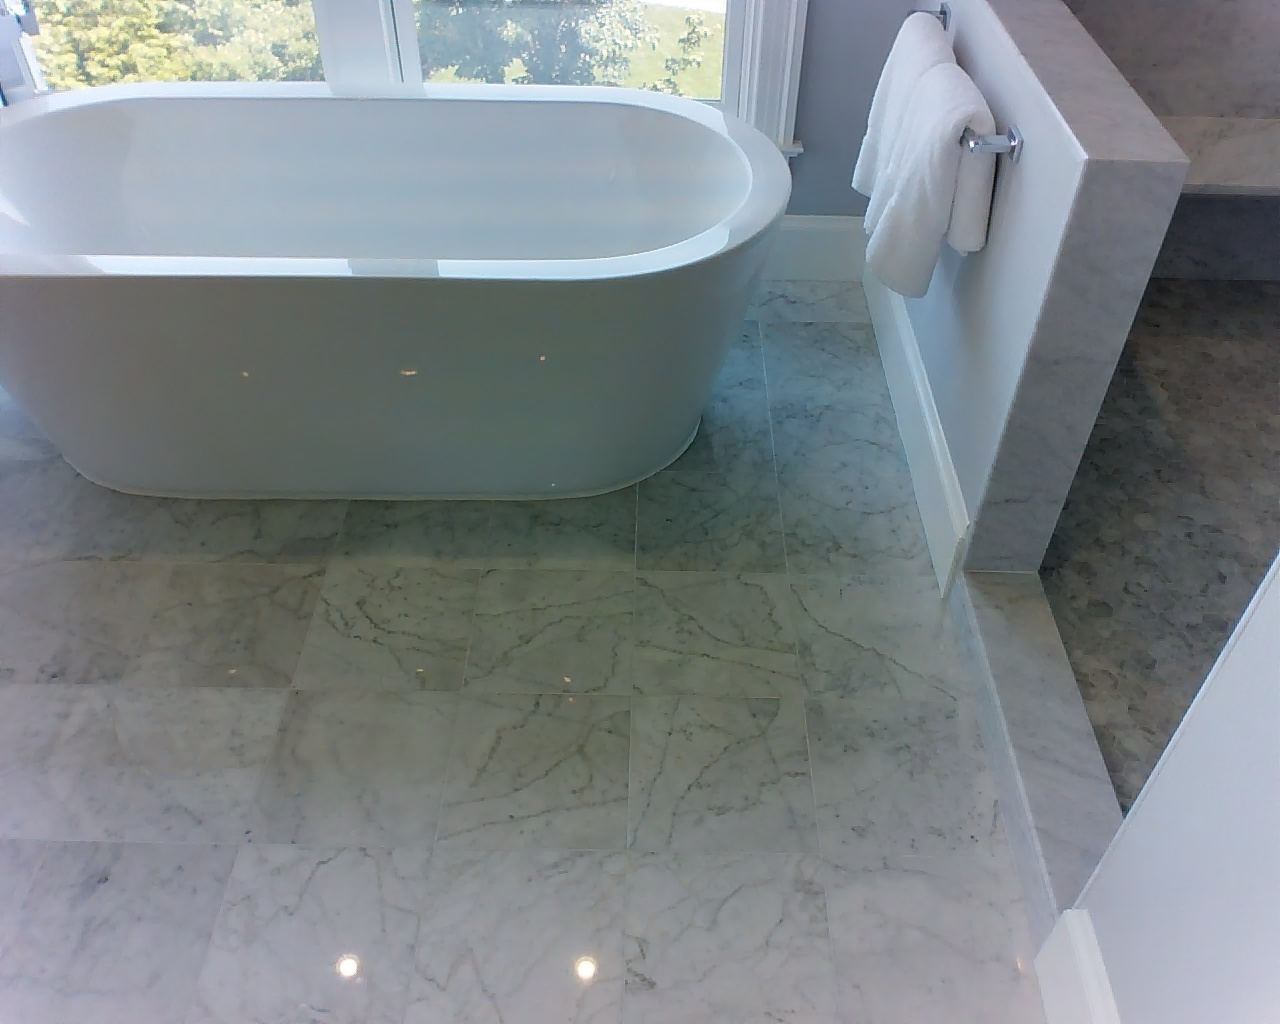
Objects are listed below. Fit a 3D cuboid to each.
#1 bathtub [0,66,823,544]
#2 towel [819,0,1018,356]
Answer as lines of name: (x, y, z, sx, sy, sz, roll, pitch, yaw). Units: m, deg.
bathtub: (-0.630, -0.480, 2.370, 1.870, 0.620, 0.920, 0, 43, -1)
towel: (0.520, -0.690, 2.150, 0.190, 0.450, 0.660, 1, 43, 0)
